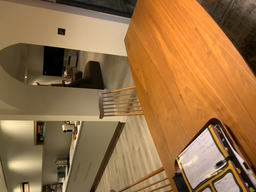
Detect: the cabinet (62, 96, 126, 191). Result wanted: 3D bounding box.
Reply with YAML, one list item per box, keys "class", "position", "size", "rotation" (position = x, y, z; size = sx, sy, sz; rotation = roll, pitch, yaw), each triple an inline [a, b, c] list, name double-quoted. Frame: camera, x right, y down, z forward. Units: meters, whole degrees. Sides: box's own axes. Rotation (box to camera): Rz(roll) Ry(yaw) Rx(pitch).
- class: "cabinet"
  position: [-1.050, 1.470, 5.450]
  size: [0.620, 0.910, 3.520]
  rotation: [-106, 29, -42]
